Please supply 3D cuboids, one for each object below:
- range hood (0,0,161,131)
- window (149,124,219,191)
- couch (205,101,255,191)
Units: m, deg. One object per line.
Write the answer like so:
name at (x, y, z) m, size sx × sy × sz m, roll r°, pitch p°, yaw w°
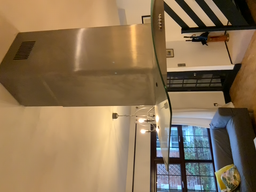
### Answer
range hood at (-0.200, -0.140, 1.100) m, size 0.510 × 0.720 × 0.540 m, roll 69°, pitch -159°, yaw -68°
window at (1.280, 1.550, 5.190) m, size 0.250 × 1.510 × 1.760 m, roll 76°, pitch -165°, yaw -58°
couch at (2.070, 1.110, 4.150) m, size 0.950 × 0.680 × 1.790 m, roll 76°, pitch -165°, yaw -57°
